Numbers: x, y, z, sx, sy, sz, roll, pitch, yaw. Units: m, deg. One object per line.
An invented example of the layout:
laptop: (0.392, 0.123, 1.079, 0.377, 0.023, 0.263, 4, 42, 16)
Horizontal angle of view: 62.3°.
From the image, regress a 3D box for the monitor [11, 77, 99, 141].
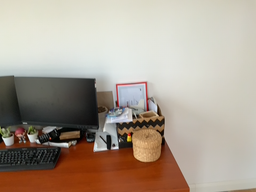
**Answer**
monitor: (-0.450, 0.080, 1.330, 0.520, 0.390, 0.050, 2, 19, 12)
